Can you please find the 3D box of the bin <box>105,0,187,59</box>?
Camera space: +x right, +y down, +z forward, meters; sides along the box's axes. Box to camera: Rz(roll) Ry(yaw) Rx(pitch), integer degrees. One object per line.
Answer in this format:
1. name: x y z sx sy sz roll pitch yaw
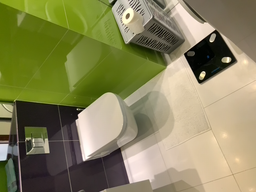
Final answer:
1. bin: 0.130 -0.620 1.630 0.250 0.520 0.490 -35 60 34
